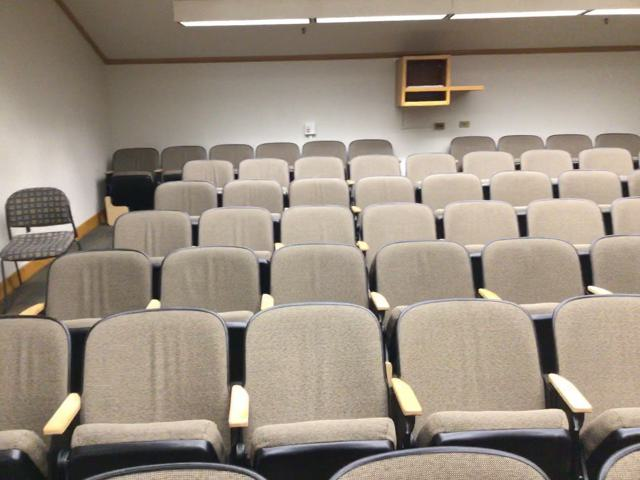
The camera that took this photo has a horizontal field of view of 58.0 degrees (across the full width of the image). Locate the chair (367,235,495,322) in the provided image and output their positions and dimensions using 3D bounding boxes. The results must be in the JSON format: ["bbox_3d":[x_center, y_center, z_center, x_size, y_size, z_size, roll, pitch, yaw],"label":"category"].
[{"bbox_3d":[0.520,0.170,2.720,0.530,0.270,0.450,-4,11,11],"label":"chair"}]

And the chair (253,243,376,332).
[{"bbox_3d":[-0.010,0.220,2.760,0.500,0.310,0.370,-4,11,11],"label":"chair"}]

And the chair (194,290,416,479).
[{"bbox_3d":[-0.010,0.670,1.930,0.570,0.810,0.630,-6,11,2],"label":"chair"}]

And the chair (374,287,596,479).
[{"bbox_3d":[0.510,0.630,1.930,0.570,0.770,0.570,-5,11,4],"label":"chair"}]

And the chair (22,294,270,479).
[{"bbox_3d":[-0.500,0.680,1.930,0.570,0.810,0.570,-6,11,-3],"label":"chair"}]
